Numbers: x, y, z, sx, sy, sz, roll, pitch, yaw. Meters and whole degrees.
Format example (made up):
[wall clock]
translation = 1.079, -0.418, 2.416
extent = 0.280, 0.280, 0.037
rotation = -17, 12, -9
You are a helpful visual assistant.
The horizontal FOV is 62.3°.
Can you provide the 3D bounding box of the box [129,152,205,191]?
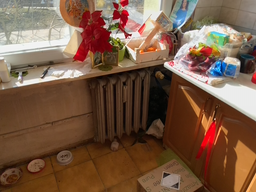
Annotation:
[box]
translation = 0.240, 0.610, 1.390
extent = 0.370, 0.250, 0.280
rotation = -13, 35, -24
